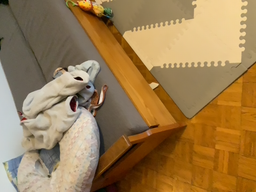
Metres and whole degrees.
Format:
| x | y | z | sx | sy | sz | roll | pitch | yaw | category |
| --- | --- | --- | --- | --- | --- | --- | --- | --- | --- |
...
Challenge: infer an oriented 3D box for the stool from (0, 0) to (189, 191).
| x | y | z | sx | sy | sz | roll | pitch | yaw | category |
| --- | --- | --- | --- | --- | --- | --- | --- | --- | --- |
| -0.560 | -0.310 | 1.600 | 0.830 | 0.500 | 1.960 | -50 | 60 | 30 | stool |

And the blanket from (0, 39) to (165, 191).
| x | y | z | sx | sy | sz | roll | pitch | yaw | category |
| --- | --- | --- | --- | --- | --- | --- | --- | --- | --- |
| -0.330 | 0.250 | 1.070 | 0.760 | 0.320 | 0.640 | -49 | 60 | 30 | blanket |
